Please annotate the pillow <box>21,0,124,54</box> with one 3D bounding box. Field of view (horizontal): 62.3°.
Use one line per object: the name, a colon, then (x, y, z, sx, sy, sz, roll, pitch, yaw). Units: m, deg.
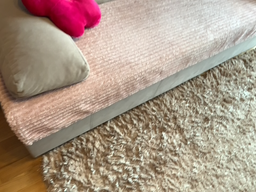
pillow: (-0.270, -0.440, 0.920, 0.310, 0.180, 0.370, -41, 67, 2)
